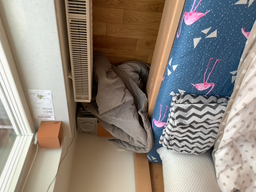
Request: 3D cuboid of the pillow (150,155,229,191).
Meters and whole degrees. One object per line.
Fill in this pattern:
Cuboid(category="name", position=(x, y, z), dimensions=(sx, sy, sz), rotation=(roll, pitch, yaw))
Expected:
Cuboid(category="pillow", position=(0.370, 0.640, 1.290), dimensions=(0.350, 0.420, 0.330), rotation=(4, 134, -8))
